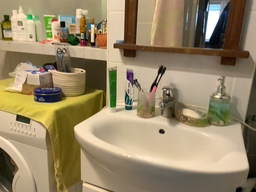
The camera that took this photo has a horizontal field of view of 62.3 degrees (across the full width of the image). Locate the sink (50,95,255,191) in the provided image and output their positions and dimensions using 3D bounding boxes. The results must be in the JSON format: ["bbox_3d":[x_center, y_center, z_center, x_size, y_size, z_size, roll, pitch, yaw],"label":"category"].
[{"bbox_3d":[0.090,0.160,0.720,0.530,0.160,0.400,10,17,23],"label":"sink"}]
